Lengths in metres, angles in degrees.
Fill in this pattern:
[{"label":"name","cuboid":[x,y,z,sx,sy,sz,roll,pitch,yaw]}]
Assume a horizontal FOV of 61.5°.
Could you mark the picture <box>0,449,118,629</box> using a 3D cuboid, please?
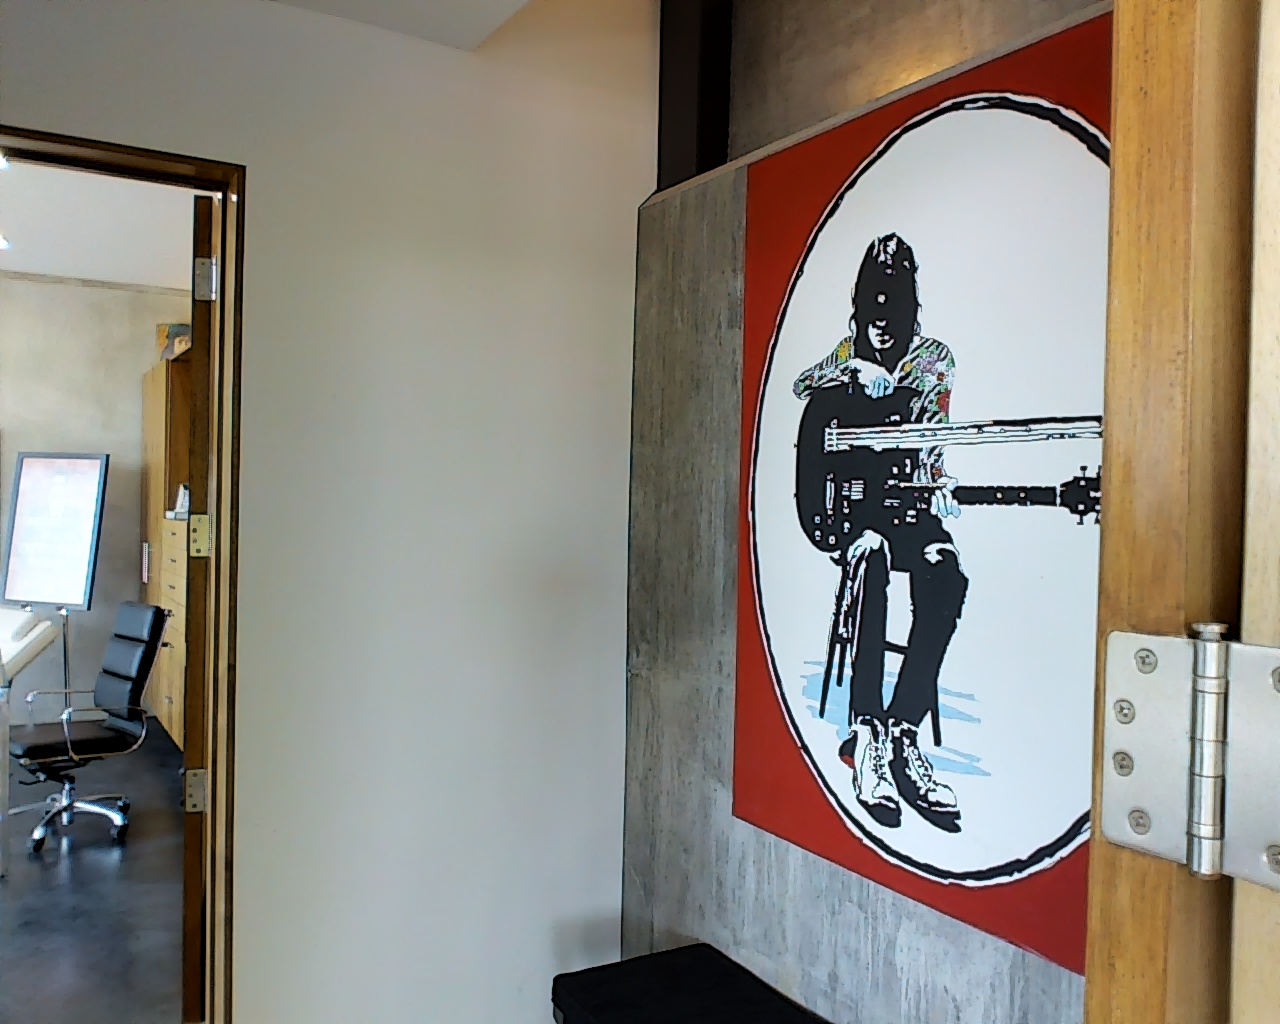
[{"label":"picture","cuboid":[-3.750,0.160,6.900,0.730,1.090,0.230,4,4,14]}]
